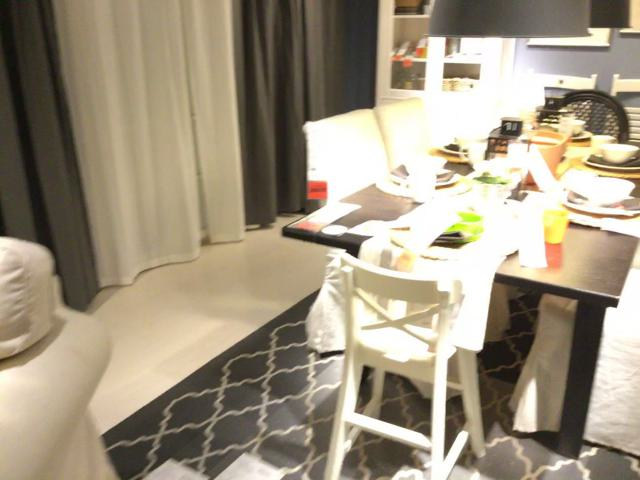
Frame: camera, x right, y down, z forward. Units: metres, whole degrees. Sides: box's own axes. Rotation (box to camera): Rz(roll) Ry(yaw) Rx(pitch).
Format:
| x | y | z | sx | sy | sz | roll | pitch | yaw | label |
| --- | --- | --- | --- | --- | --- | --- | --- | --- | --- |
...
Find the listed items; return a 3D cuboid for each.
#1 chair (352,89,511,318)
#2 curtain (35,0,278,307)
| x | y | z | sx | sy | sz | roll | pitch | yaw | label |
| --- | --- | --- | --- | --- | --- | --- | --- | --- | --- |
| 0.540 | -0.220 | 2.820 | 0.540 | 0.950 | 0.560 | 11 | 23 | 33 | chair |
| -0.760 | -0.730 | 3.100 | 0.200 | 1.810 | 1.300 | 11 | 23 | 33 | curtain |
